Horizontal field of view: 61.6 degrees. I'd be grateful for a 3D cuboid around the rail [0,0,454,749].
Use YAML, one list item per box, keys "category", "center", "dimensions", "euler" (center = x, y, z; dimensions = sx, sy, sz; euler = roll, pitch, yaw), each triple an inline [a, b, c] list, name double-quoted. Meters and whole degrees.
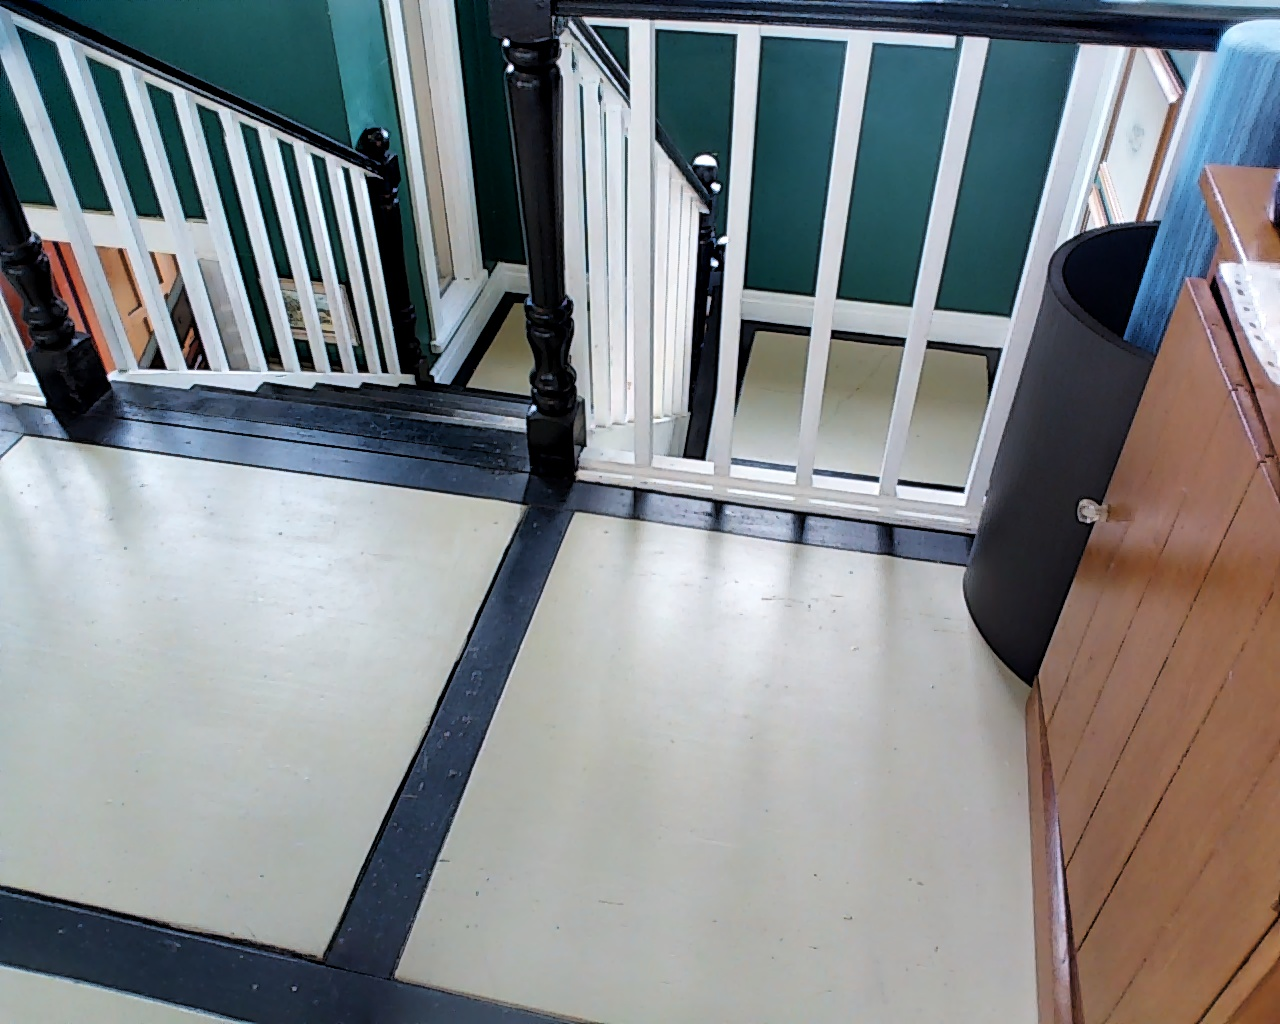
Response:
- category: "rail"
  center: [-1.040, -0.600, 2.850]
  dimensions: [0.260, 1.090, 2.290]
  euler: [8, 73, 10]
